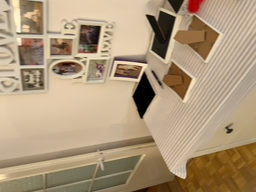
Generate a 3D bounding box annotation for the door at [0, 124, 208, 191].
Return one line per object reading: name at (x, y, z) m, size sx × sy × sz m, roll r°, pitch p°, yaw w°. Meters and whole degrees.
door at (-0.280, 0.710, 1.930) m, size 0.930 × 2.010 × 0.090 m, roll 110°, pitch 146°, yaw -41°
